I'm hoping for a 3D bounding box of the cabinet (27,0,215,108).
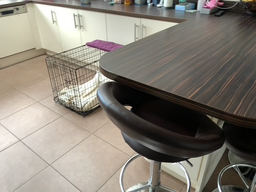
[{"bbox_3d":[-0.300,-0.800,2.920,2.580,0.890,0.650,23,38,33],"label":"cabinet"}]

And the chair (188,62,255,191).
[{"bbox_3d":[0.660,0.370,1.050,0.480,0.860,0.530,24,39,34],"label":"chair"}]
